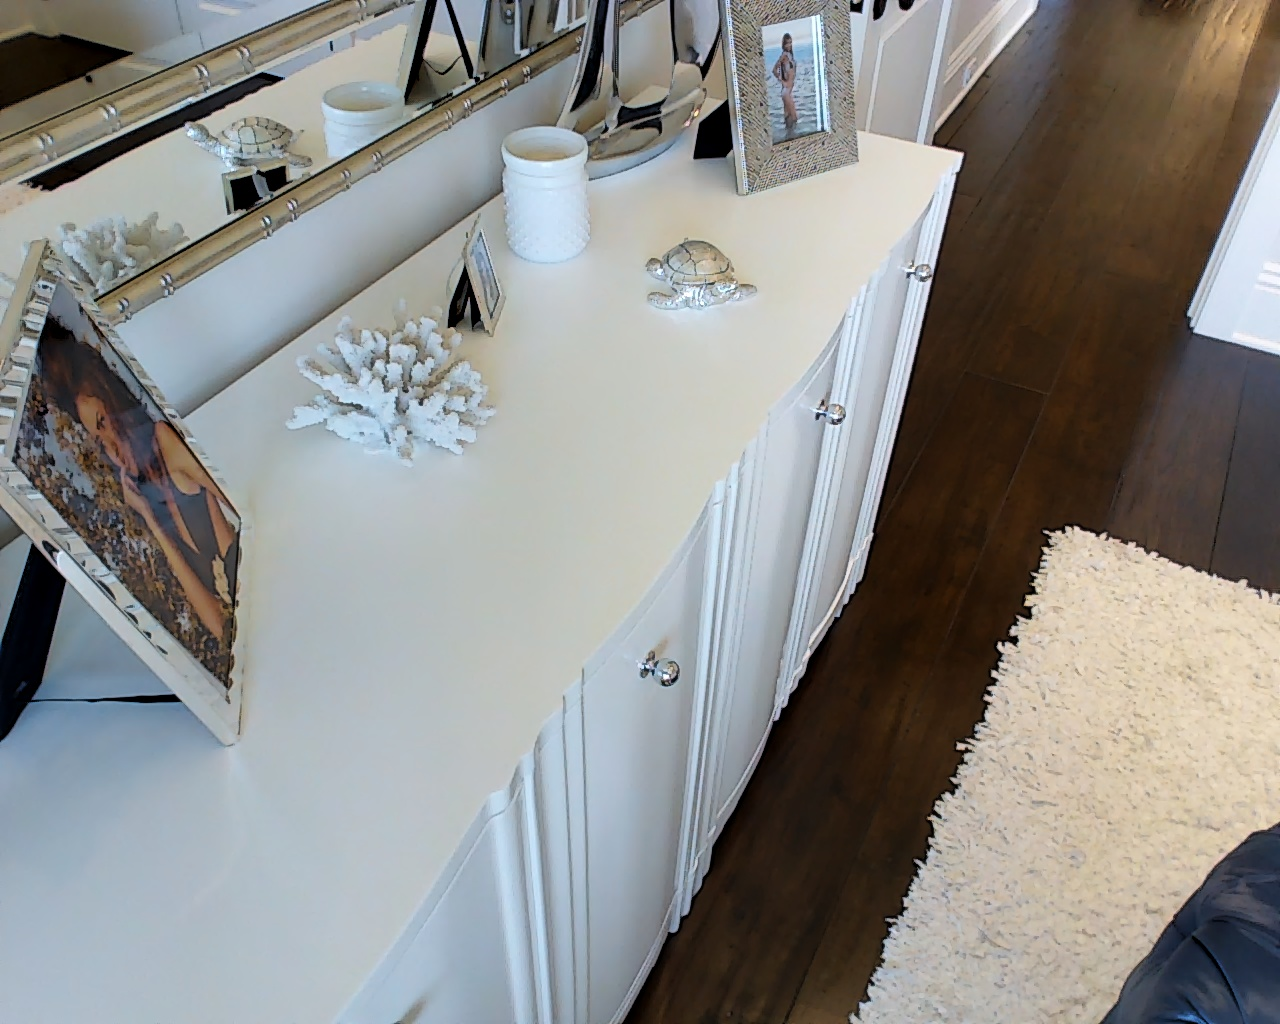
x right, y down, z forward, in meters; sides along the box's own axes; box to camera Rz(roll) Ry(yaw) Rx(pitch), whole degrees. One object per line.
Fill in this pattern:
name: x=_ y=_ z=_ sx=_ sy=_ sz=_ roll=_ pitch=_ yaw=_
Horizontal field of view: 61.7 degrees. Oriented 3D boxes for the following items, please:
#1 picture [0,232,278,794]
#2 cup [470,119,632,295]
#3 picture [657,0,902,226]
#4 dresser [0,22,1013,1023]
picture: x=-0.360 y=-0.010 z=0.760 sx=0.100 sy=0.280 sz=0.280 roll=-18 pitch=35 yaw=-7
cup: x=-0.100 y=-0.360 z=1.260 sx=0.140 sy=0.140 sz=0.120 roll=19 pitch=45 yaw=20
picture: x=0.190 y=-0.560 z=1.410 sx=0.240 sy=0.270 sz=0.130 roll=-31 pitch=33 yaw=-19
dresser: x=-0.120 y=0.170 z=1.350 sx=0.560 sy=0.980 sz=1.600 roll=20 pitch=45 yaw=20
